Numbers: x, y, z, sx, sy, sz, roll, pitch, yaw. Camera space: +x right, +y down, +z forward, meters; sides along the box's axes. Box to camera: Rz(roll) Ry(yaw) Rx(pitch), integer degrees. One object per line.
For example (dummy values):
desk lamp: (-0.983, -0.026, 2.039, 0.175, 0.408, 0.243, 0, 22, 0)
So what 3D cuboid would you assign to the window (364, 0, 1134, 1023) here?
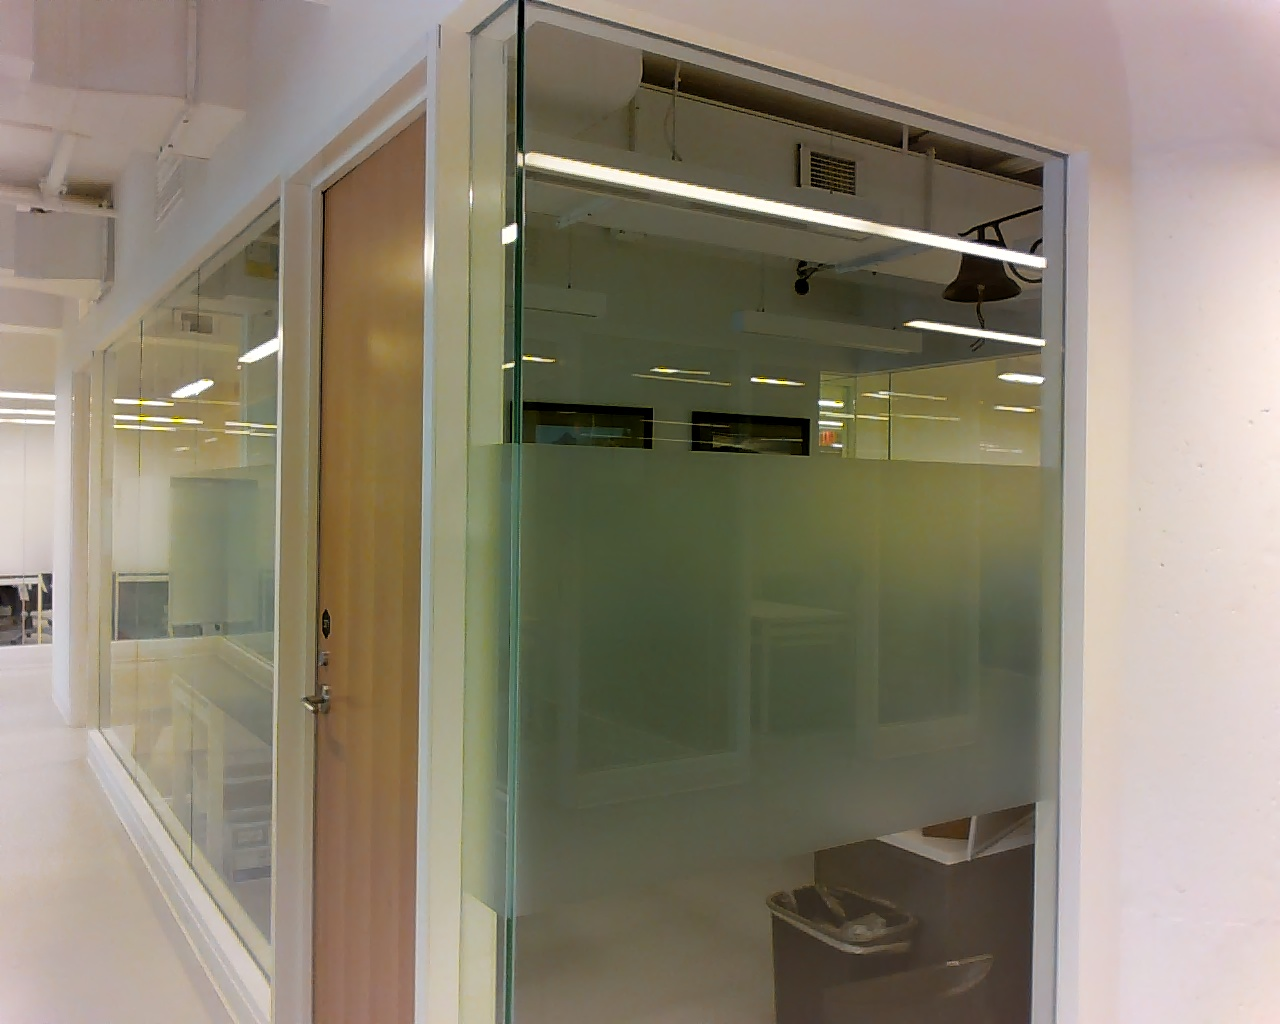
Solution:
window: (0.340, 0.140, 2.110, 1.700, 2.531, 0.280, 1, 0, -34)
